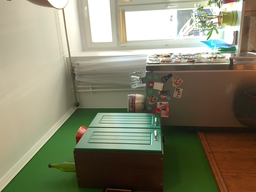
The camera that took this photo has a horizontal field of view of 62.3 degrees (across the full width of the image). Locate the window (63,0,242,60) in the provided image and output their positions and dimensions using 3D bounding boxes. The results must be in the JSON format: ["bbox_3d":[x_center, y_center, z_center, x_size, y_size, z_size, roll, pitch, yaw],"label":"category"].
[{"bbox_3d":[0.280,-1.230,2.850,0.350,2.240,1.370,-65,-26,-73],"label":"window"}]

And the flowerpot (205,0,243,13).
[{"bbox_3d":[1.130,-1.120,2.550,0.490,0.290,0.160,-65,-26,-73],"label":"flowerpot"}]
